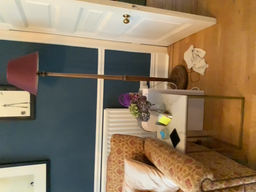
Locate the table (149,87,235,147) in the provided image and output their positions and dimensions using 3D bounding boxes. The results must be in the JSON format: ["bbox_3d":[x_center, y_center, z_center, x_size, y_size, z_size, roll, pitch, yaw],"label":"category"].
[{"bbox_3d":[0.510,0.150,1.760,0.400,0.540,0.420,-175,87,-70],"label":"table"}]

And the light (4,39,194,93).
[{"bbox_3d":[-0.230,-0.250,2.300,0.550,1.850,0.390,180,91,-70],"label":"light"}]
